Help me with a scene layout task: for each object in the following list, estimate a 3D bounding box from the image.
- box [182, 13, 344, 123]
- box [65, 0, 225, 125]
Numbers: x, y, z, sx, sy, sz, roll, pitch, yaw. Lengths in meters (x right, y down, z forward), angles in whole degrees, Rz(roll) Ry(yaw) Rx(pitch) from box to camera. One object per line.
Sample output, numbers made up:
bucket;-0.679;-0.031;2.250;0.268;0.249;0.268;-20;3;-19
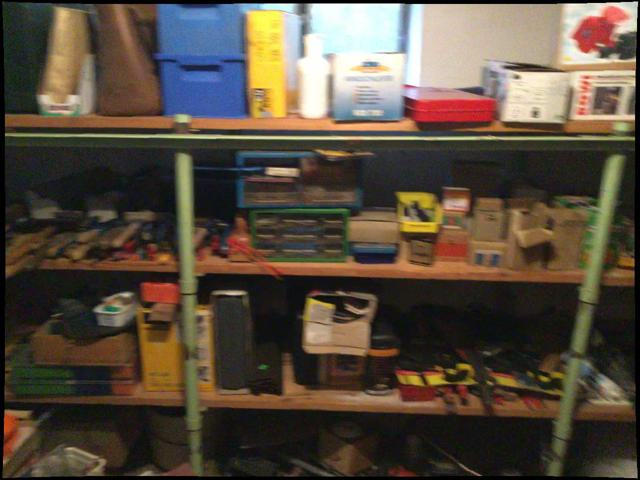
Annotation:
box;-0.120;-0.430;1.430;0.350;0.230;0.300;2;20;3
box;-0.410;-0.450;1.440;0.270;0.270;0.330;2;20;3
